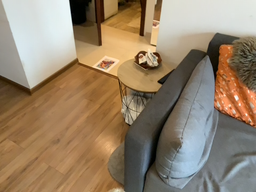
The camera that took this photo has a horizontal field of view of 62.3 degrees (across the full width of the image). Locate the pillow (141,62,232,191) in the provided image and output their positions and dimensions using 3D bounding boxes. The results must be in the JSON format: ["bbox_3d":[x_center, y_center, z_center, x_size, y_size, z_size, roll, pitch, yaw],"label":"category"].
[{"bbox_3d":[0.320,0.120,1.110,0.230,0.300,0.610,22,44,21],"label":"pillow"}]

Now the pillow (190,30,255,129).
[{"bbox_3d":[0.710,-0.090,1.250,0.520,0.380,0.300,27,46,25],"label":"pillow"}]
